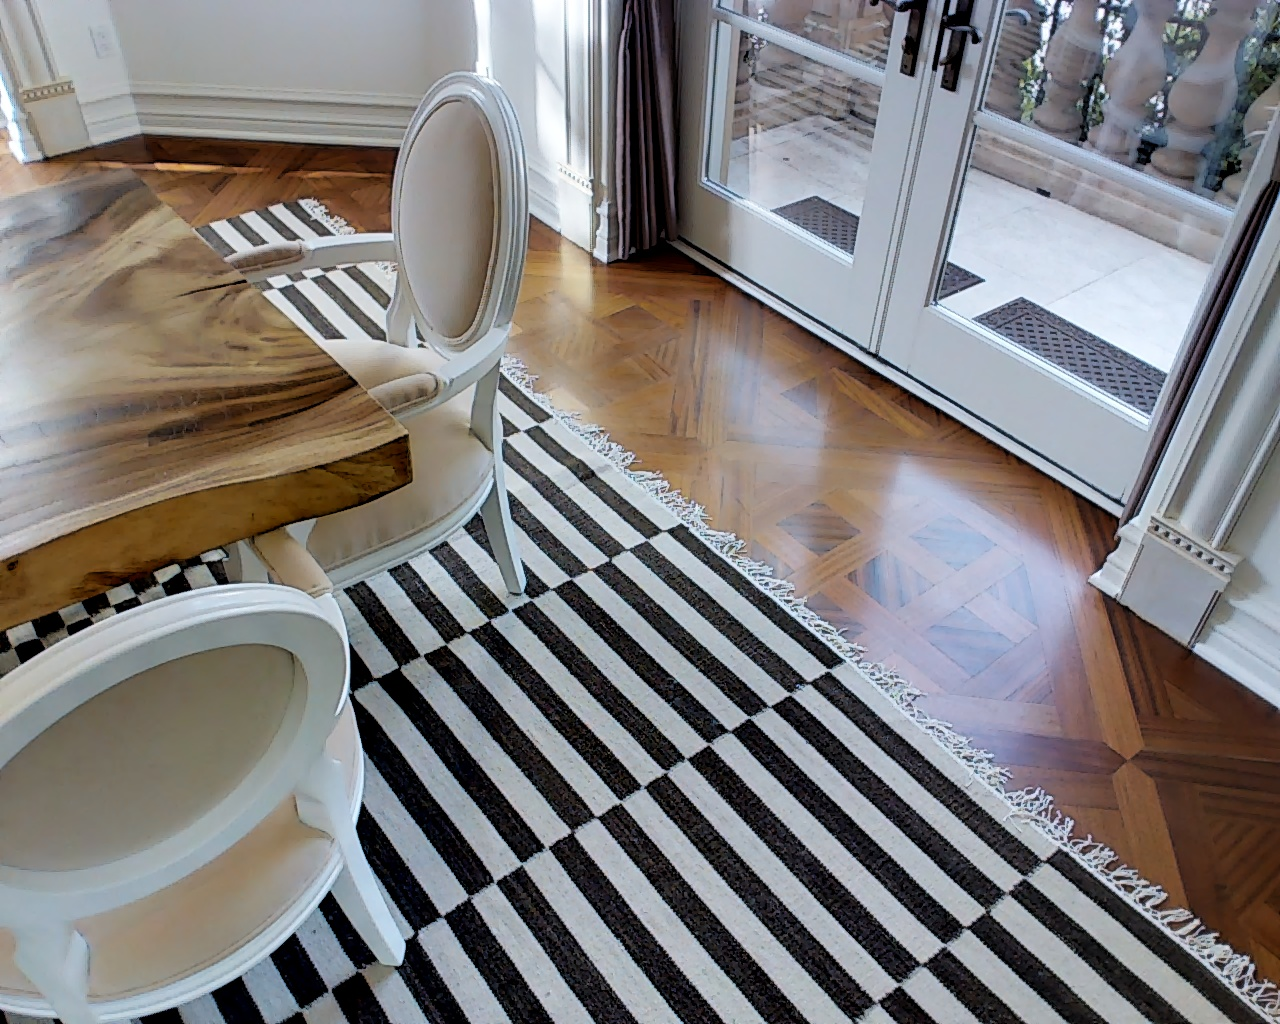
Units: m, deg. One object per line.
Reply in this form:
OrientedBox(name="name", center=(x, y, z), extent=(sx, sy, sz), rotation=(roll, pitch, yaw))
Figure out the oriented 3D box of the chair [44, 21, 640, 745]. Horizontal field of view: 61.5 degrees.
OrientedBox(name="chair", center=(-0.500, -0.260, 2.070), extent=(0.700, 1.010, 0.690), rotation=(-28, 49, -29))
